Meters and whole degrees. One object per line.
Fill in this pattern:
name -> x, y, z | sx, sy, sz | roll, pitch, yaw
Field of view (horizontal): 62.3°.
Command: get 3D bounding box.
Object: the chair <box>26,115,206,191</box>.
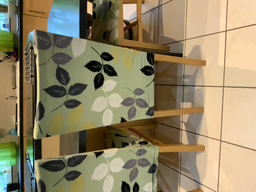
chair -> -0.080, 0.410, 1.280 | 0.570, 0.920, 0.460 | 7, 97, 59

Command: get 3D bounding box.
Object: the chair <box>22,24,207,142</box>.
chair -> -0.080, -0.070, 1.250 | 0.550, 0.930, 0.430 | 7, 97, 59
